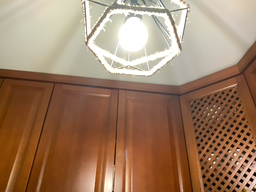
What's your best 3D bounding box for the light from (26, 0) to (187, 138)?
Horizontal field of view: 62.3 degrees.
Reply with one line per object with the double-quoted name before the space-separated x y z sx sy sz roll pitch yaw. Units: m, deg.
"light" 0.000 -0.250 0.720 0.300 0.490 0.560 22 55 4
